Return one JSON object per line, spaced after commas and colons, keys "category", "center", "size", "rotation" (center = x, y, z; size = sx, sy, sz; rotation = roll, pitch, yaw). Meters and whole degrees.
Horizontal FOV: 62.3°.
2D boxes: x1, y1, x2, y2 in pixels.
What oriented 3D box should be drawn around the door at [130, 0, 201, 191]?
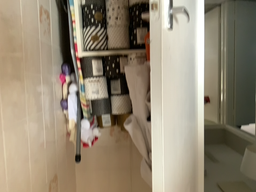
{"category": "door", "center": [0.210, -0.390, 0.910], "size": [0.130, 1.550, 0.730], "rotation": [1, -174, 23]}
